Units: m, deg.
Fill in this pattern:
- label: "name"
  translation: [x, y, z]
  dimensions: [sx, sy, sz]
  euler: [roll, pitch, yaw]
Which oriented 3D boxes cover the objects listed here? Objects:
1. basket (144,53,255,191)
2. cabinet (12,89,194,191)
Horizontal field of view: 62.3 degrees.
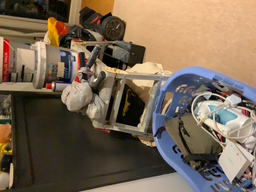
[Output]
- label: "basket"
  translation: [0.380, 0.160, 0.860]
  dimensions: [0.650, 0.210, 0.500]
  euler: [40, 122, 53]
- label: "cabinet"
  translation: [-0.230, 0.210, 1.270]
  dimensions: [0.910, 0.790, 0.150]
  euler: [41, 123, 52]
